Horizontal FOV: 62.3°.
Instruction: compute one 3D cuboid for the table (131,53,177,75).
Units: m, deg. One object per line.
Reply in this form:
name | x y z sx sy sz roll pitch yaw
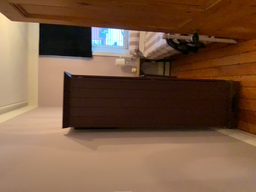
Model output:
table | 0.490 -0.600 4.090 0.420 0.790 0.360 -151 62 -79
